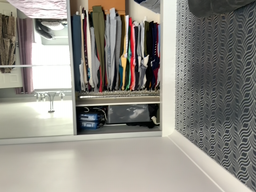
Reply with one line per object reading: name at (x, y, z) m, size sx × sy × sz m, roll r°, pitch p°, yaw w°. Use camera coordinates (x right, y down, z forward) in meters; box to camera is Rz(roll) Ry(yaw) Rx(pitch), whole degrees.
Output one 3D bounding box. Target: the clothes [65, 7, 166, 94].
clothes at (-0.130, -0.490, 2.410) m, size 1.030 × 0.880 × 0.360 m, roll -1°, pitch -172°, yaw -7°
